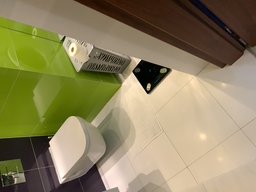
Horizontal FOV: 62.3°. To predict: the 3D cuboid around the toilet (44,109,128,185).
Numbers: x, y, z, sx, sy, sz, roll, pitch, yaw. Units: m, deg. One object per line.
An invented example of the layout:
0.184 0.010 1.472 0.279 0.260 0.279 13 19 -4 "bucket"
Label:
-0.380 0.430 1.860 0.570 0.410 0.350 -48 57 28 "toilet"
